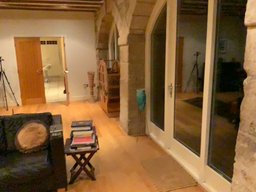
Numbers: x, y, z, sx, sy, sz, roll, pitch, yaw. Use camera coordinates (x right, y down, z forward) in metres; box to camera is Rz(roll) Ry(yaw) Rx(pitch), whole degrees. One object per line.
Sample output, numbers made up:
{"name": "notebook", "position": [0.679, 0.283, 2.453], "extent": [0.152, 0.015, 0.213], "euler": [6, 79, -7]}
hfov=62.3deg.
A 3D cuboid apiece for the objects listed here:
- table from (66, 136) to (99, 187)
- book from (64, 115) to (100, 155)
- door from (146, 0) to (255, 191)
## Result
{"name": "table", "position": [-0.580, 0.800, 2.660], "extent": [0.340, 0.400, 0.450], "euler": [-5, 13, -17]}
{"name": "book", "position": [-0.570, 0.450, 2.560], "extent": [0.360, 0.290, 0.450], "euler": [-5, 13, -18]}
{"name": "door", "position": [0.770, -0.140, 2.680], "extent": [0.150, 2.440, 2.560], "euler": [-5, 13, -17]}
